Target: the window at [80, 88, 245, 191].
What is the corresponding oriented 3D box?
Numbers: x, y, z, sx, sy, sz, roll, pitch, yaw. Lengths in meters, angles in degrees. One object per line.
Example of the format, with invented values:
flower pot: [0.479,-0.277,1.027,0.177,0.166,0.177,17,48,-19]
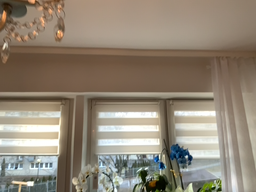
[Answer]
window: [0.280,0.560,1.890,1.340,1.190,0.310,1,-13,-7]
